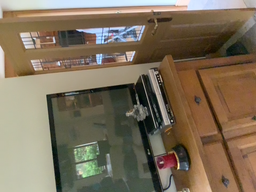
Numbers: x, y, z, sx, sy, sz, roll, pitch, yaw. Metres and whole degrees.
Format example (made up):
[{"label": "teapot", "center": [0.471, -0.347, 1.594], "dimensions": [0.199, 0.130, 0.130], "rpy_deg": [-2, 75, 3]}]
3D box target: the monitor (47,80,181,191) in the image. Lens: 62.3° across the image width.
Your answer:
[{"label": "monitor", "center": [-0.100, 0.450, 1.560], "dimensions": [0.080, 0.830, 1.140], "rpy_deg": [116, 143, -64]}]
